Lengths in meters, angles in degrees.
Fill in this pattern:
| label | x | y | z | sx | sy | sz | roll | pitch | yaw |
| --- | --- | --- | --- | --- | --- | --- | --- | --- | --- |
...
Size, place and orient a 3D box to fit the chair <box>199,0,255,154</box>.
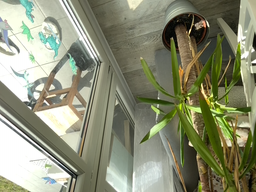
| label | x | y | z | sx | sy | sz | roll | pitch | yaw |
| --- | --- | --- | --- | --- | --- | --- | --- | --- | --- |
| chair | 0.670 | -0.290 | 0.910 | 0.540 | 0.890 | 0.450 | -8 | 136 | 11 |
